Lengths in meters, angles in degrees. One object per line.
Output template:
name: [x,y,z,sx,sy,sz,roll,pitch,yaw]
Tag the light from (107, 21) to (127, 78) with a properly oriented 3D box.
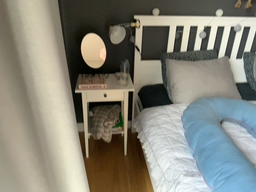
light: [-0.100,-0.400,1.840,0.150,0.450,0.160,-3,27,-10]
